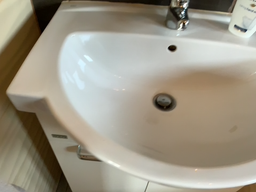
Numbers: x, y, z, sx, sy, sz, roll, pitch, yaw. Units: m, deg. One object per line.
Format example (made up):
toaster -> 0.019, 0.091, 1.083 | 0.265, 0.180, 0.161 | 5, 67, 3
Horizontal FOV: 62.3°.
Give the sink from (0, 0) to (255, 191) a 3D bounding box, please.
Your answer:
sink -> 0.100, 0.000, 0.510 | 0.650, 0.190, 0.460 | 7, 50, 1
